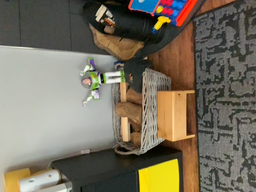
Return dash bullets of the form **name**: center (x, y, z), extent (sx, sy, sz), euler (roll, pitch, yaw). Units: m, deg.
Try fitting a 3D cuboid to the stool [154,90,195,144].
- **stool**: center (0.300, 0.120, 1.370), extent (0.150, 0.210, 0.310), euler (7, 99, 55)
